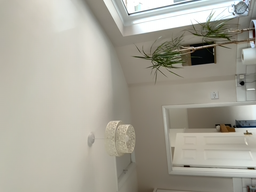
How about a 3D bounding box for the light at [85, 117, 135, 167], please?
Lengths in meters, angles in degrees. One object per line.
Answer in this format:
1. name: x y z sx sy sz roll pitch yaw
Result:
1. light: -0.160 0.360 1.750 0.330 0.260 0.320 -9 -171 -14
